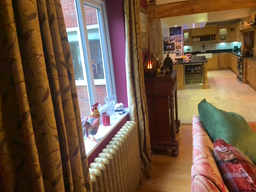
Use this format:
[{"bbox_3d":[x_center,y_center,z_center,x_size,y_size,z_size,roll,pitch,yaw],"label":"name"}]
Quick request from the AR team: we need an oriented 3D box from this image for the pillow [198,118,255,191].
[{"bbox_3d":[0.780,0.720,1.590,0.480,0.920,0.660,0,14,18],"label":"pillow"}]

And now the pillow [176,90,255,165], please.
[{"bbox_3d":[0.900,0.240,1.990,0.660,0.410,0.550,-11,14,-26],"label":"pillow"}]
